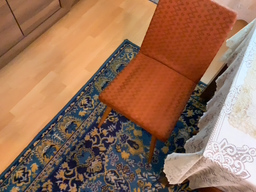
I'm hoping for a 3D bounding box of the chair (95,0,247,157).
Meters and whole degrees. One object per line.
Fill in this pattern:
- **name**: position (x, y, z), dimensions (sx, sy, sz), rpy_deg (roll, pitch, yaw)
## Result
- **chair**: position (0.180, -0.090, 1.250), dimensions (0.410, 0.790, 0.600), rpy_deg (34, 65, 12)
